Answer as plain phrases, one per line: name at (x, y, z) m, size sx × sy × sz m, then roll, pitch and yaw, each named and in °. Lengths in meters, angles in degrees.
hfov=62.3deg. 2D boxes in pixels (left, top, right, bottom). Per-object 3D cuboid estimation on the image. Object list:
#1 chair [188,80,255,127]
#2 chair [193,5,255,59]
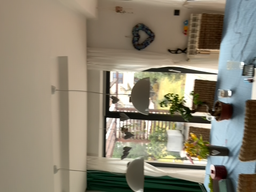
chair at (1.310, 0.070, 2.610) m, size 0.570 × 0.960 × 0.470 m, roll -72°, pitch -15°, yaw -83°
chair at (1.340, -0.700, 2.460) m, size 0.570 × 0.960 × 0.470 m, roll -72°, pitch -15°, yaw -83°
